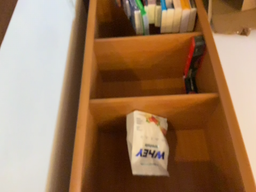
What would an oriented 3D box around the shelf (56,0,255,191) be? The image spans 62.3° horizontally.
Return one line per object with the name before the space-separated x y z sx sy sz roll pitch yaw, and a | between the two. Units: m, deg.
shelf | 0.110 0.240 0.960 0.670 2.020 0.430 -3 150 3
